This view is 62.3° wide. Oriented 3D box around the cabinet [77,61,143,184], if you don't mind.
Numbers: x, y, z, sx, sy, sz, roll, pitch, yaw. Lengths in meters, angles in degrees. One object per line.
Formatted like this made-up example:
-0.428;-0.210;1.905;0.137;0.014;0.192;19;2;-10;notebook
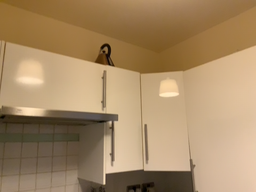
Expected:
-0.140;0.190;1.570;0.320;0.770;0.370;8;-14;-37;cabinet
